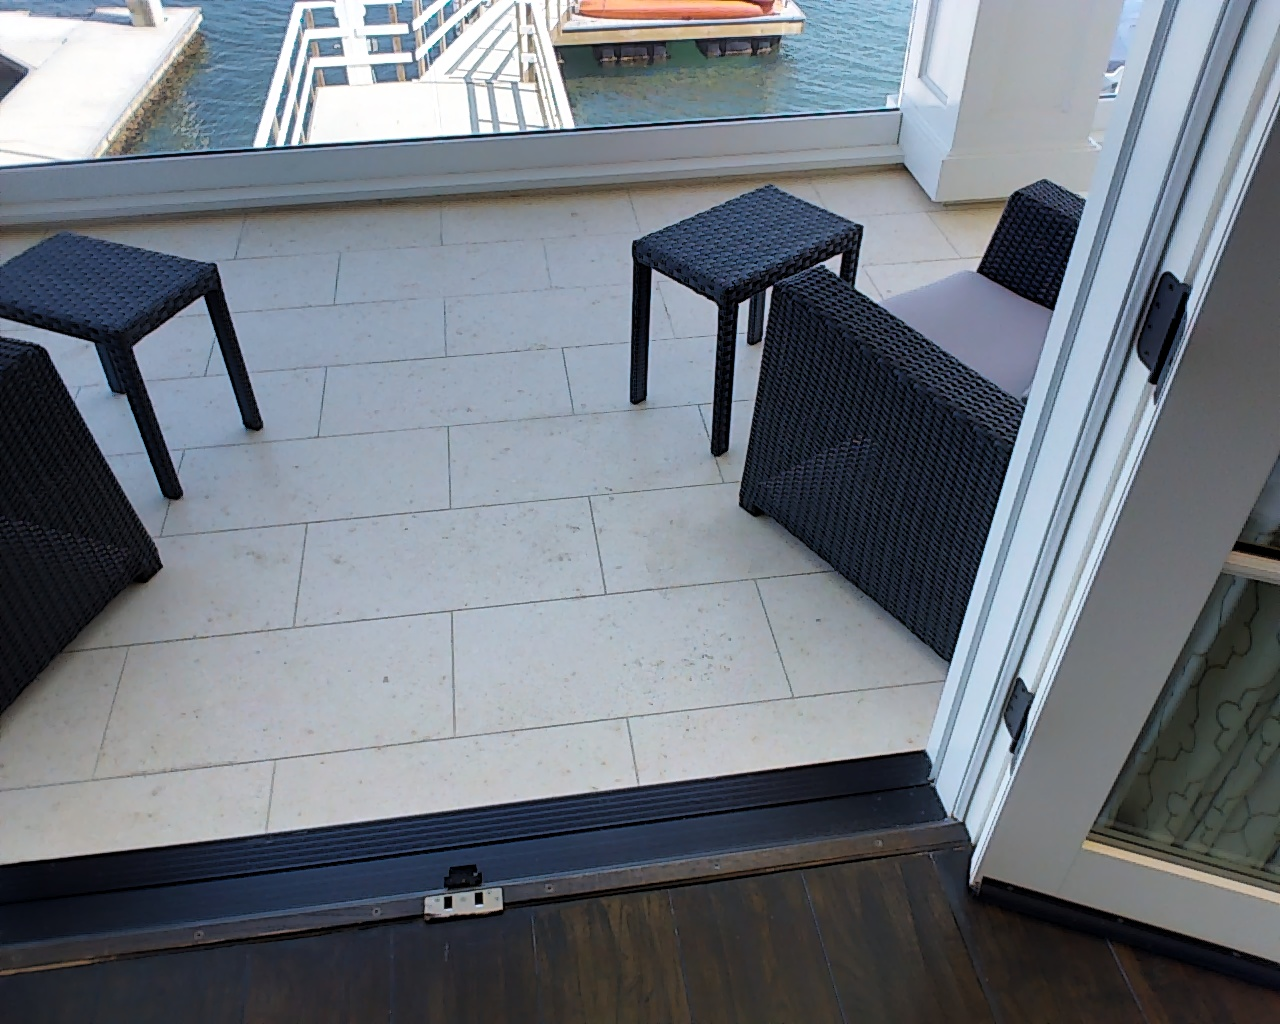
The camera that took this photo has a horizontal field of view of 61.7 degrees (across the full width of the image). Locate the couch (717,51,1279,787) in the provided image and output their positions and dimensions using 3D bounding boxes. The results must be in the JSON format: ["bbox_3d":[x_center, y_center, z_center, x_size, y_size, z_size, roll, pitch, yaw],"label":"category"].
[{"bbox_3d":[0.750,-0.230,2.020,0.810,0.850,0.860,-27,48,-27],"label":"couch"}]
